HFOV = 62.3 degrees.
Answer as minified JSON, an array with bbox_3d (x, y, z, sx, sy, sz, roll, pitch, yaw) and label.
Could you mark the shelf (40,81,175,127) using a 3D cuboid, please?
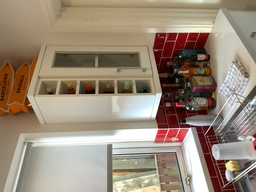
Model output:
[{"bbox_3d":[-0.130,0.060,1.470,0.270,0.830,0.180,96,172,-51],"label":"shelf"}]
